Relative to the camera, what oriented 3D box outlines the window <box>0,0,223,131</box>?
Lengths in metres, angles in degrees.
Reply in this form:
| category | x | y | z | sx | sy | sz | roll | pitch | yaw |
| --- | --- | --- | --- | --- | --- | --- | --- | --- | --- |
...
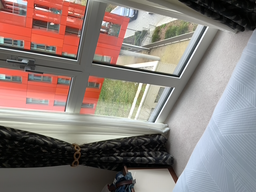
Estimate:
| category | x | y | z | sx | sy | sz | roll | pitch | yaw |
| --- | --- | --- | --- | --- | --- | --- | --- | --- | --- |
| window | -0.590 | -0.290 | 1.720 | 0.110 | 2.670 | 1.340 | -116 | 39 | -50 |
